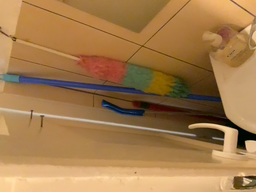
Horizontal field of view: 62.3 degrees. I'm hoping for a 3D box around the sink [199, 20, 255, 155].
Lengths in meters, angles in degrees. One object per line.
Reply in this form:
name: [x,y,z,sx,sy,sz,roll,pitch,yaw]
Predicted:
sink: [0.430,-0.050,0.540,0.420,0.160,0.320,-35,51,49]
